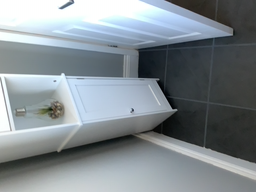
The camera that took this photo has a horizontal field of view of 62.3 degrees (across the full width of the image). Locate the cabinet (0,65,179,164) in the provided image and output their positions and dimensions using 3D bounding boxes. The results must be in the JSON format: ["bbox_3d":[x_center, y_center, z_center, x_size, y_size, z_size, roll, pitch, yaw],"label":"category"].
[{"bbox_3d":[-0.420,0.080,1.050,0.310,1.690,0.320,-46,60,39],"label":"cabinet"}]
